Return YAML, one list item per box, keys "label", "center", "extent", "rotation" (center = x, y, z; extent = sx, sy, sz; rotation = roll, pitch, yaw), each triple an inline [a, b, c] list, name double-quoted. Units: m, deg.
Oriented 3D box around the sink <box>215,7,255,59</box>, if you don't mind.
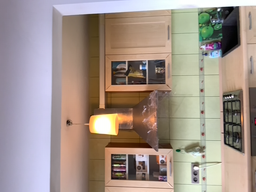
- label: "sink"
  center: [1.110, -0.630, 2.240]
  extent: [0.540, 0.200, 0.360]
  rotation: [27, -117, -83]
